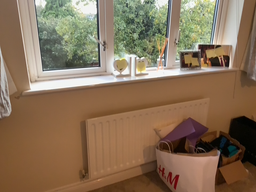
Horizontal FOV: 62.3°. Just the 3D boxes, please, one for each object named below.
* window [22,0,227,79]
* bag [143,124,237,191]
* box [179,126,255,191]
[{"bbox_3d":[0.110,-0.760,1.650,1.700,1.130,0.070,-7,22,-22],"label":"window"},{"bbox_3d":[0.440,0.570,1.670,0.380,0.420,0.570,-9,22,-26],"label":"bag"},{"bbox_3d":[0.780,0.540,1.900,0.430,0.310,0.440,-8,22,-23],"label":"box"}]
